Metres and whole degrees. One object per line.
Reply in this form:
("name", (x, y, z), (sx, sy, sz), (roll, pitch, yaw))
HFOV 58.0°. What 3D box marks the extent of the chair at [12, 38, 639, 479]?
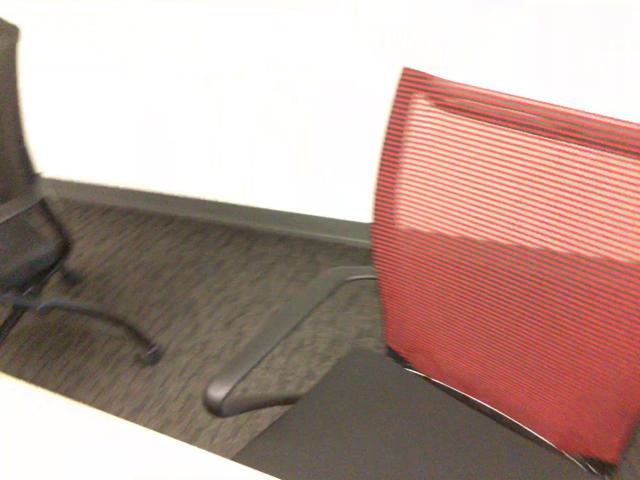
("chair", (0.150, 0.290, 0.800), (0.610, 0.860, 0.650), (-30, 43, -32))
